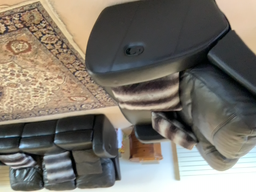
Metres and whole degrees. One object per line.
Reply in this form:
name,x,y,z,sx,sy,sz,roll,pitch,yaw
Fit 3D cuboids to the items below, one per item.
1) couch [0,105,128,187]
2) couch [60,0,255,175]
couch,-1.190,0.980,3.680,2.110,0.940,1.230,-9,152,14
couch,0.350,0.040,1.830,1.060,0.990,1.510,-8,152,12
